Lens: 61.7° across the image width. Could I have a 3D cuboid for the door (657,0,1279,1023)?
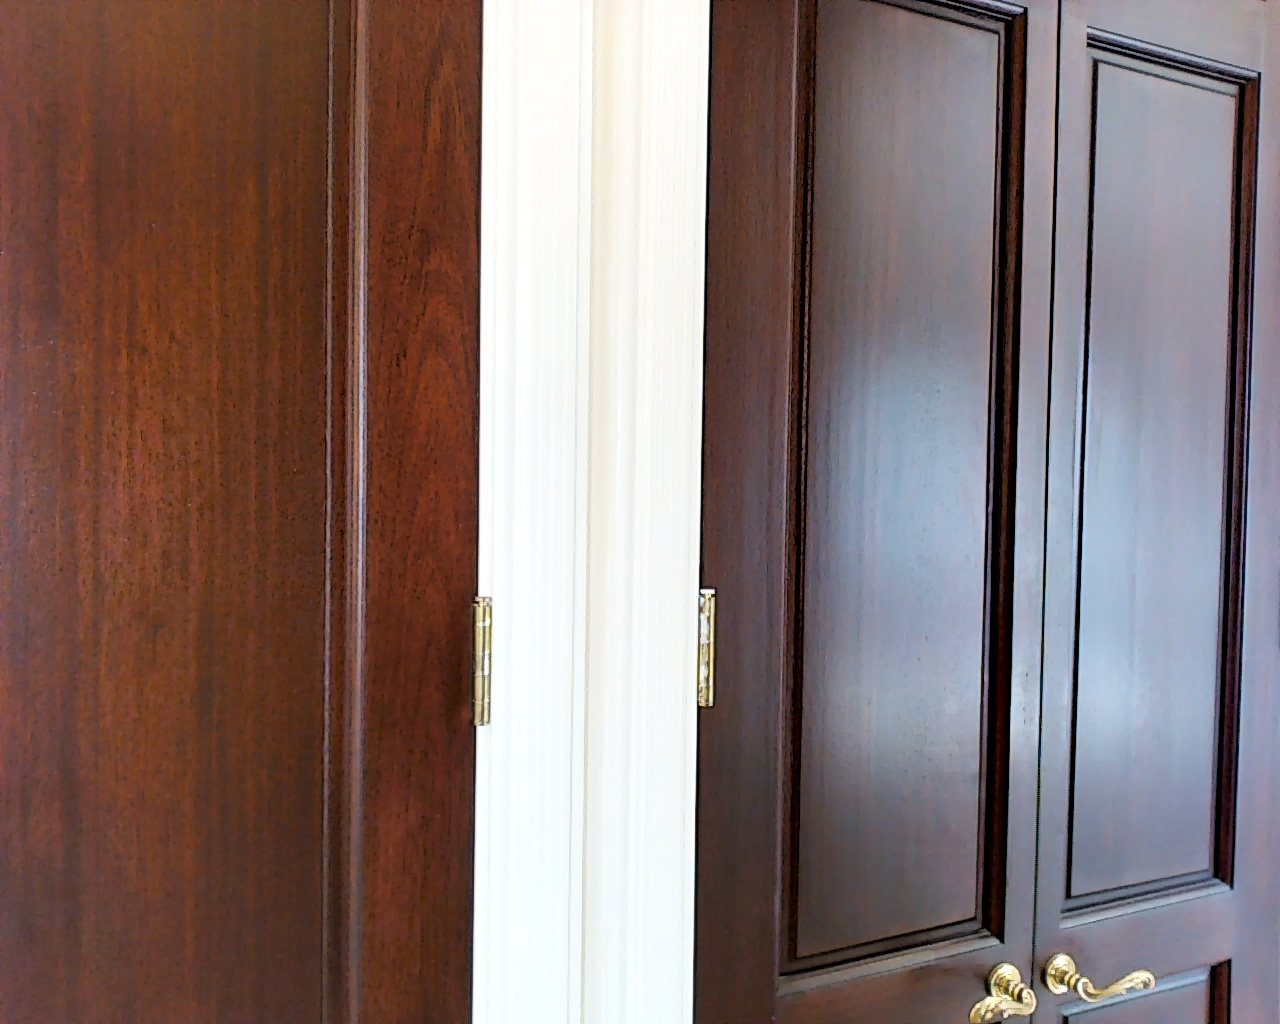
[{"bbox_3d":[0.500,0.200,1.220,1.010,2.370,0.100,0,2,-25],"label":"door"}]
